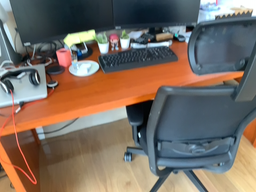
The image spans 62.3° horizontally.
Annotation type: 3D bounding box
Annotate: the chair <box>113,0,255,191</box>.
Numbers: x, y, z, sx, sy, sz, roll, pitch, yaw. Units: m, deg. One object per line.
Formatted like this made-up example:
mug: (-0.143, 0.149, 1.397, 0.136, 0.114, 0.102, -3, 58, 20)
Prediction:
chair: (0.330, 0.100, 1.090, 0.740, 1.110, 0.770, -3, 35, -2)

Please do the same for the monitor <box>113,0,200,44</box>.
monitor: (0.170, -0.530, 1.300, 0.520, 0.400, 0.040, -3, 35, -2)

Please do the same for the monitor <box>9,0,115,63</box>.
monitor: (-0.330, -0.440, 1.170, 0.530, 0.410, 0.040, -19, 39, -24)
